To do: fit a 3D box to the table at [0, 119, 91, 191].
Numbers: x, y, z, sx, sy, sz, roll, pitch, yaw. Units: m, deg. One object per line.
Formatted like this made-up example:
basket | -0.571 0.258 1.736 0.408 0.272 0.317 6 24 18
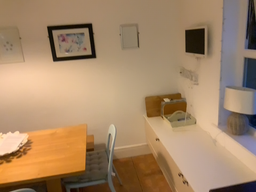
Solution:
table | -1.170 0.810 1.840 1.600 0.760 0.830 -7 17 -9
